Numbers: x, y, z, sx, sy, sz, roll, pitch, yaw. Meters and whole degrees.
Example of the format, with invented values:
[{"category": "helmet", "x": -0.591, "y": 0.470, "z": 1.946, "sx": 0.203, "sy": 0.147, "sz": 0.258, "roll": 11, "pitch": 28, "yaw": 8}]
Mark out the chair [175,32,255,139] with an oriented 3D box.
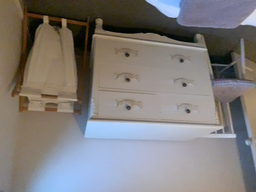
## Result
[{"category": "chair", "x": 0.750, "y": -0.060, "z": 1.930, "sx": 0.400, "sy": 0.800, "sz": 0.530, "roll": 4, "pitch": 159, "yaw": -10}]
